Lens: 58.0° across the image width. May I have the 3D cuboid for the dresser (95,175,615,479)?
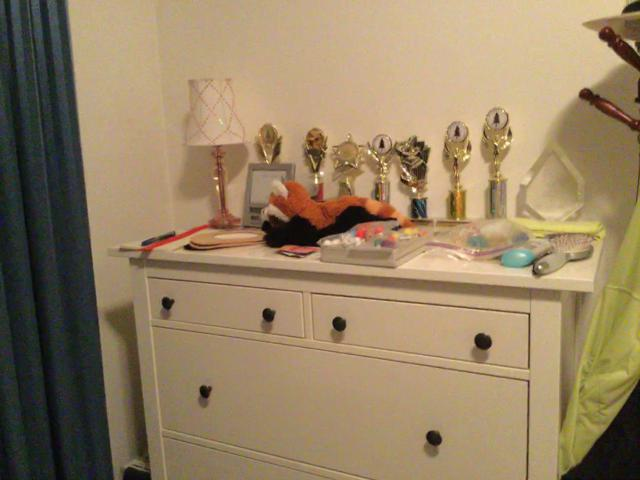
[{"bbox_3d":[0.090,0.590,1.500,1.120,1.480,0.550,3,10,29],"label":"dresser"}]

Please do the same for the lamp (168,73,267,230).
[{"bbox_3d":[-0.300,-0.260,1.730,0.180,0.430,0.210,3,10,29],"label":"lamp"}]
